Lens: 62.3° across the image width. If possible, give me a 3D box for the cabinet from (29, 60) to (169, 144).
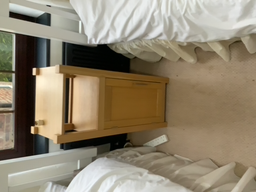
[{"bbox_3d":[-0.130,0.020,1.350,0.340,0.840,0.370,3,92,46],"label":"cabinet"}]
